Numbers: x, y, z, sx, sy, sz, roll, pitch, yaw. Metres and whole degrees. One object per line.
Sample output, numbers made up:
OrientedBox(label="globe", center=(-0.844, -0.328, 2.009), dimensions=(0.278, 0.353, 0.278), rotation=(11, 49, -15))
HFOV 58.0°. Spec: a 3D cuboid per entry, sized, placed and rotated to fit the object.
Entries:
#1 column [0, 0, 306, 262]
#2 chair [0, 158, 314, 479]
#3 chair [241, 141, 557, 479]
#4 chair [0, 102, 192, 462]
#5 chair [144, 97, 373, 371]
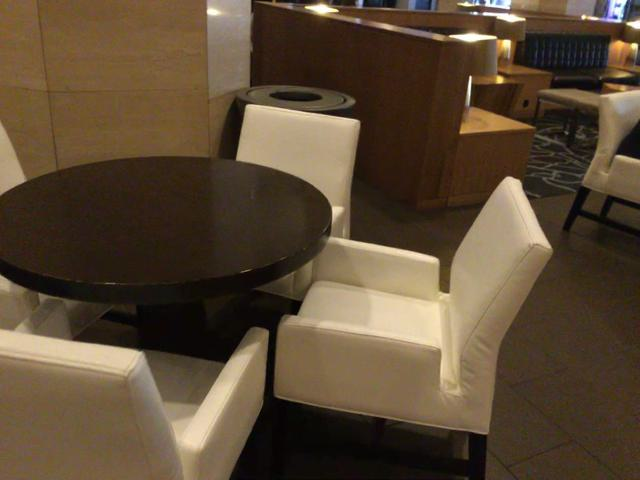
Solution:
OrientedBox(label="column", center=(-0.970, -0.680, 2.830), dimensions=(1.480, 1.040, 0.920), rotation=(-12, 30, -30))
OrientedBox(label="chair", center=(-0.470, 0.400, 1.280), dimensions=(0.640, 0.880, 0.790), rotation=(12, 27, 14))
OrientedBox(label="chair", center=(0.220, 0.250, 1.690), dimensions=(0.670, 0.840, 0.650), rotation=(12, 27, 14))
OrientedBox(label="chair", center=(-0.930, 0.060, 1.820), dimensions=(0.780, 0.760, 0.680), rotation=(12, 27, 14))
OrientedBox(label="chair", center=(-0.210, -0.070, 2.270), dimensions=(0.610, 0.770, 0.670), rotation=(12, 27, 14))
